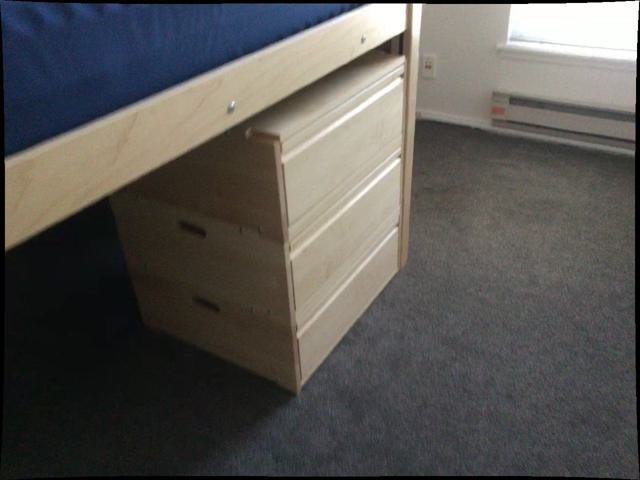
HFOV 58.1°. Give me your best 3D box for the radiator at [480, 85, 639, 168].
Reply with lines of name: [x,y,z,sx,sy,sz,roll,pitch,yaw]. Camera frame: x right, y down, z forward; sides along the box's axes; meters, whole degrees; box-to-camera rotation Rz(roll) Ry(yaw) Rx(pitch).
radiator: [1.228,-0.511,2.650,0.949,0.240,0.080,17,39,26]
